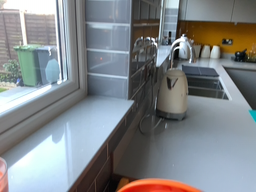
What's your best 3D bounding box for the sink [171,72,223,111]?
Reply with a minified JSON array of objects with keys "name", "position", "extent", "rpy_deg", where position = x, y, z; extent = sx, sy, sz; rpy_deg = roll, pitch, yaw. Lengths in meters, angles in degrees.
[{"name":"sink","position":[0.640,-0.060,2.020],"extent":[0.400,0.230,0.360],"rpy_deg":[7,20,13]}]
